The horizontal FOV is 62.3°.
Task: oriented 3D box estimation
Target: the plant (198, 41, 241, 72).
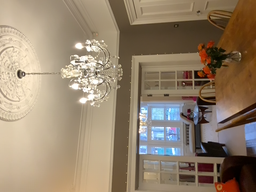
[{"bbox_3d":[0.830,-0.360,1.960,0.310,0.230,0.180,1,163,7],"label":"plant"}]
